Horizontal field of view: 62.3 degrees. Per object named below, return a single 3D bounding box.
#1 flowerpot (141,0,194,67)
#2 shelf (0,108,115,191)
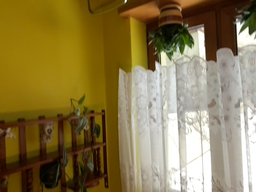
[{"bbox_3d":[0.280,-0.440,1.500,0.270,0.420,0.240,-2,180,41],"label":"flowerpot"},{"bbox_3d":[-0.470,0.400,1.320,0.160,0.590,0.960,-2,180,37],"label":"shelf"}]
